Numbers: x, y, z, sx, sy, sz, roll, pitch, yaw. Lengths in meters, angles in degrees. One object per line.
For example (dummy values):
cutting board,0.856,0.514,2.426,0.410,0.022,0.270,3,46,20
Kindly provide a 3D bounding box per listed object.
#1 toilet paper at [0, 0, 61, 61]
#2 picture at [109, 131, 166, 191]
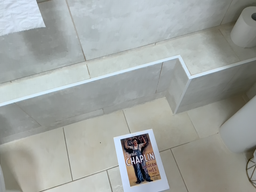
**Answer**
toilet paper,-0.260,-0.220,0.460,0.130,0.260,0.130,-17,65,-8
picture,0.040,0.340,1.030,0.210,0.020,0.300,-12,64,-6
